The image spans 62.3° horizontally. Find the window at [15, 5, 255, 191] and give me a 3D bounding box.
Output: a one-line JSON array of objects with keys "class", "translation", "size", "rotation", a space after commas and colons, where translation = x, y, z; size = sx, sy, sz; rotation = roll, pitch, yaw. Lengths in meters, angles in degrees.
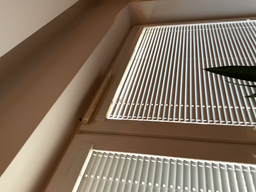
[{"class": "window", "translation": [0.560, 0.010, 0.890], "size": [2.200, 1.550, 0.150], "rotation": [-70, -24, -51]}]
